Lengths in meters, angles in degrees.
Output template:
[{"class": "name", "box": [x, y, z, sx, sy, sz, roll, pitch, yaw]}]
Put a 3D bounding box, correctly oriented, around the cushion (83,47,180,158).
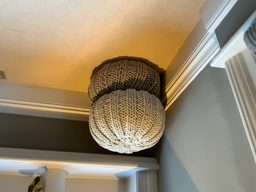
[{"class": "cushion", "box": [-0.010, 0.070, 1.420, 0.470, 0.550, 0.440, 8, 147, -16]}]
